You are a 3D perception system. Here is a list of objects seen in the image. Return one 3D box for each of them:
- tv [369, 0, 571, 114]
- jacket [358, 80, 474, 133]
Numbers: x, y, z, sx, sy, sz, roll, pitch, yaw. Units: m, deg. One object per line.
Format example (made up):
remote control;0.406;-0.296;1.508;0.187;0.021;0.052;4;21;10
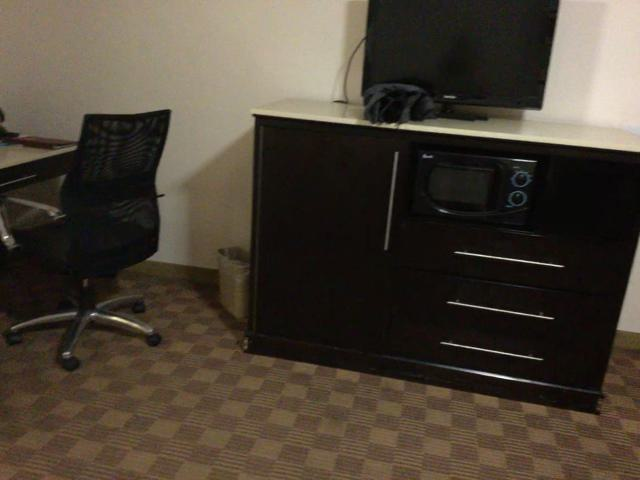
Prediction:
tv;0.620;-0.820;2.490;0.760;0.480;0.230;6;17;10
jacket;0.380;-0.540;2.300;0.400;0.160;0.440;6;17;9
